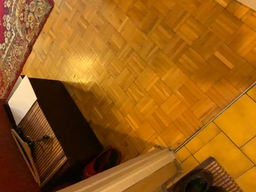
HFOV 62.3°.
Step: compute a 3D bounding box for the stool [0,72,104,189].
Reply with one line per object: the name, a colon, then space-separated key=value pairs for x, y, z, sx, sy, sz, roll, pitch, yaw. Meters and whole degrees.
stool: x=-0.560 y=0.200 z=1.510 sx=0.290 sy=0.340 sz=0.740 roll=-50 pitch=64 yaw=23
